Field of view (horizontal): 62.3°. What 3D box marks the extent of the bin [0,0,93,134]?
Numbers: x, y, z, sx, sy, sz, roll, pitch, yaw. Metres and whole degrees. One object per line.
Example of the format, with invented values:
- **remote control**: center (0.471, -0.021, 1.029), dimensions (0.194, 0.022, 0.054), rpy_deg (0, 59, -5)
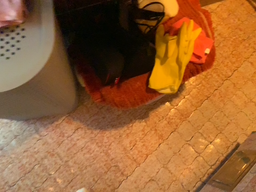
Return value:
- **bin**: center (-0.390, -0.120, 0.710), dimensions (0.430, 0.650, 0.380), rpy_deg (-9, 78, -6)
